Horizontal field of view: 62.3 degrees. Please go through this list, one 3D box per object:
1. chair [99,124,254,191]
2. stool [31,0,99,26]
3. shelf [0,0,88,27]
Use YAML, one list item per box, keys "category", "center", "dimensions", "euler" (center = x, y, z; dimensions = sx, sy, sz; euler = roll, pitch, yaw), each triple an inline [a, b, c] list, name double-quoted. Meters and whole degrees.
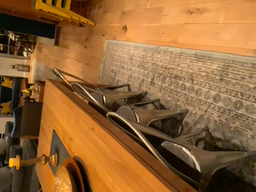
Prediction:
- category: "chair"
  center: [0.270, 0.450, 1.190]
  dimensions: [0.400, 0.730, 0.450]
  euler: [22, 105, 54]
- category: "stool"
  center: [-0.870, -1.290, 2.960]
  dimensions: [0.390, 0.790, 0.420]
  euler: [31, 113, 52]
- category: "shelf"
  center: [-1.830, -1.590, 3.290]
  dimensions: [1.300, 2.020, 0.560]
  euler: [26, 109, 53]
